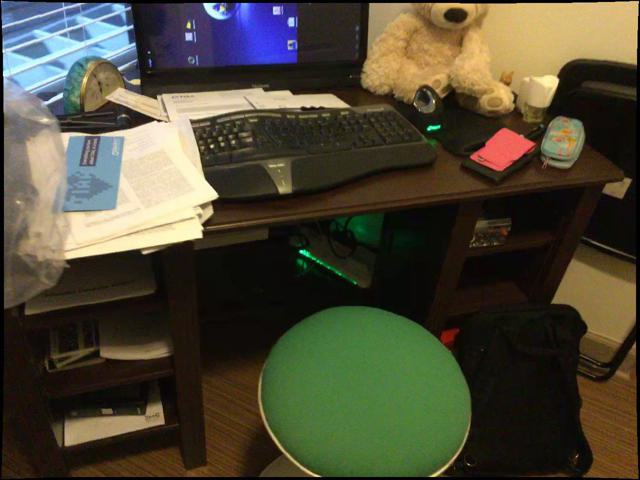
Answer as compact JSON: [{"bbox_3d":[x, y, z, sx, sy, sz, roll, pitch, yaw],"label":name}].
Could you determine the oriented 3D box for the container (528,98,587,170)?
[{"bbox_3d":[0.489,-0.221,1.180,0.080,0.040,0.210,20,42,16],"label":"container"}]

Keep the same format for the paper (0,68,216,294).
[{"bbox_3d":[-0.359,-0.120,0.930,0.289,0.140,0.370,-12,43,-19],"label":"paper"}]

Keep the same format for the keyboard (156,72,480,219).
[{"bbox_3d":[-0.010,-0.200,1.090,0.529,0.060,0.300,-12,43,-20],"label":"keyboard"}]

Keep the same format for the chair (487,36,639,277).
[{"bbox_3d":[0.688,-0.170,1.340,0.459,0.471,0.120,20,42,16],"label":"chair"}]
